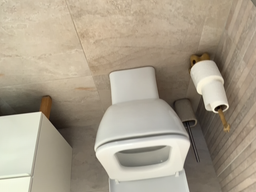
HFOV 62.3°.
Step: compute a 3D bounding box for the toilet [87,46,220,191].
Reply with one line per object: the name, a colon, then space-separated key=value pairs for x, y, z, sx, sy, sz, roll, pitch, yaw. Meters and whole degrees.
toilet: x=0.080 y=0.310 z=0.940 sx=0.370 sy=0.810 sz=0.610 roll=-7 pitch=145 yaw=1
